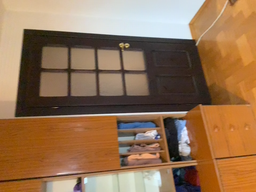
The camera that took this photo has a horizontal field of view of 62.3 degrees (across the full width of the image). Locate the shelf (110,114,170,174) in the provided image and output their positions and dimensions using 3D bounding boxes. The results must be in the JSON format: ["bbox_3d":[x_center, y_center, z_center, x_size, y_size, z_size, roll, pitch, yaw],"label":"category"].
[{"bbox_3d":[0.090,0.450,2.000,0.280,0.450,0.480,122,144,-63],"label":"shelf"}]
